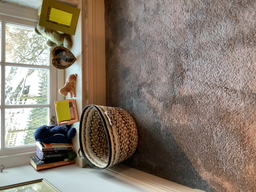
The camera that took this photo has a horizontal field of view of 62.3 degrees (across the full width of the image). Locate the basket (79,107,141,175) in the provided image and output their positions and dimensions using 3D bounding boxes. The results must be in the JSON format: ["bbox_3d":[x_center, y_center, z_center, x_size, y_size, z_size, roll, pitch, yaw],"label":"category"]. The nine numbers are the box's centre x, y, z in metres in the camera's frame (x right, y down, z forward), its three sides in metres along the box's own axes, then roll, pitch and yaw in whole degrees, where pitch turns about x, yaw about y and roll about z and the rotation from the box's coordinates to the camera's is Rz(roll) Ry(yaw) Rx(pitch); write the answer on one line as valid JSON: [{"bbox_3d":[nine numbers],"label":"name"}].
[{"bbox_3d":[-0.110,0.230,1.230,0.310,0.220,0.320,-2,88,50],"label":"basket"}]
